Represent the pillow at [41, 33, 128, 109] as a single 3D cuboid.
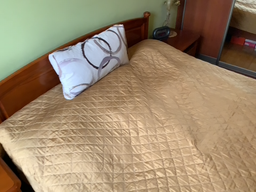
[{"bbox_3d":[-0.290,-0.220,1.610,0.270,0.280,0.590,25,46,28],"label":"pillow"}]
